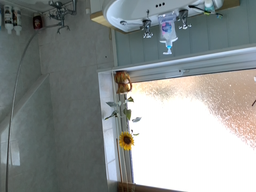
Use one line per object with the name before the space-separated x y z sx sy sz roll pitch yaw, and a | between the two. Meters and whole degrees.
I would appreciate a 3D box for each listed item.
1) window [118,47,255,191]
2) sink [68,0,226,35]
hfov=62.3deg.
window | 0.450 0.240 1.480 0.990 0.990 0.200 -5 -179 27
sink | 0.120 -0.510 1.030 0.590 0.200 0.550 -5 -179 29
